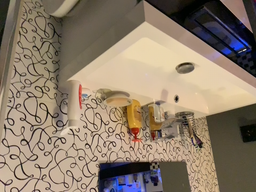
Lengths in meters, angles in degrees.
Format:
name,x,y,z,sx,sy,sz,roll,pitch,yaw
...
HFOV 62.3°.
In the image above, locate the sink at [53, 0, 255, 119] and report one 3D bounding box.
name,x,y,z,sx,sy,sz,roll,pitch,yaw
sink,0.200,-0.060,0.830,0.830,0.100,0.410,15,153,-39
